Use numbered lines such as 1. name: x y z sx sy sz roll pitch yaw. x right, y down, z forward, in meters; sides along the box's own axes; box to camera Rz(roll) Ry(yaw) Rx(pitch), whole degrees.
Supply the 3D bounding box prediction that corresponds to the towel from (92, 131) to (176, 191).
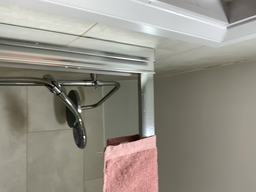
1. towel: 0.020 0.280 0.540 0.100 0.190 0.350 -3 -93 56
